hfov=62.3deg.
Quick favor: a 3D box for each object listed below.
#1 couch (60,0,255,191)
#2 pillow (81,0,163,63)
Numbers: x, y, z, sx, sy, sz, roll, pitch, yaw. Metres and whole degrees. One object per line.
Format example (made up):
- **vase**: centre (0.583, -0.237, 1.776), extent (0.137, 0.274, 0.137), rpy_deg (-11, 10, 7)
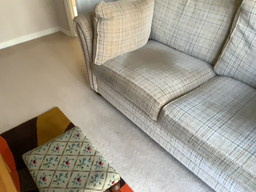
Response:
- **couch**: centre (0.540, -0.180, 1.440), extent (1.040, 0.900, 2.030), rpy_deg (-28, 46, -28)
- **pillow**: centre (-0.010, -0.590, 1.660), extent (0.210, 0.390, 0.660), rpy_deg (28, 47, 33)
